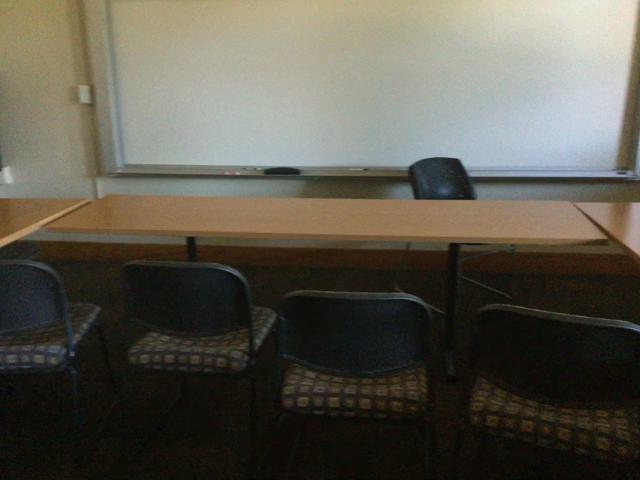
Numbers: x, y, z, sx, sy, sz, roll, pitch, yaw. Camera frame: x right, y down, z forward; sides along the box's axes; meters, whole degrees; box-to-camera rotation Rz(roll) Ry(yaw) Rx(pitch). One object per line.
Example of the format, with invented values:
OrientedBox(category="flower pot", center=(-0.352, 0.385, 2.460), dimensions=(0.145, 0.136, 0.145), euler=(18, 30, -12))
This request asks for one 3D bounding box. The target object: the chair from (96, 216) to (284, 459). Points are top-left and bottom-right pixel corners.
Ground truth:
OrientedBox(category="chair", center=(-0.430, 0.320, 2.090), dimensions=(0.510, 0.690, 0.480), euler=(4, 17, 4))

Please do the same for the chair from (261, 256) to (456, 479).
OrientedBox(category="chair", center=(0.100, 0.380, 1.710), dimensions=(0.500, 0.580, 0.250), euler=(4, 17, 4))

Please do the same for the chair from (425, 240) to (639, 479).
OrientedBox(category="chair", center=(0.640, 0.430, 1.680), dimensions=(0.510, 0.680, 0.540), euler=(9, 18, 21))

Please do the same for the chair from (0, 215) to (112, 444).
OrientedBox(category="chair", center=(-1.100, 0.300, 2.120), dimensions=(0.520, 0.680, 0.500), euler=(0, 17, -10))
